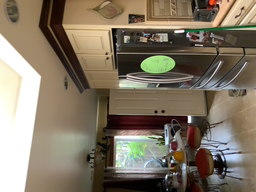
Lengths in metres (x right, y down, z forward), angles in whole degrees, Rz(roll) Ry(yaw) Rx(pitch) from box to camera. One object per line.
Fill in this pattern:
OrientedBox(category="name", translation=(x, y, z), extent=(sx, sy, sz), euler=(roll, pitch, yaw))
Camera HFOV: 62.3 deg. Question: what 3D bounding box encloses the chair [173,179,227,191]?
OrientedBox(category="chair", translation=(1.200, 1.670, 3.590), extent=(0.440, 0.760, 0.460), euler=(94, 177, -72))
